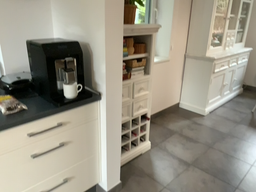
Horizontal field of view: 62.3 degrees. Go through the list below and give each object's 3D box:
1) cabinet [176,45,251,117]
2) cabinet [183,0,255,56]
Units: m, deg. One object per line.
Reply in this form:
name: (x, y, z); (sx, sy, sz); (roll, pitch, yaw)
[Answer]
cabinet: (1.580, -0.370, 3.810); (0.510, 0.910, 1.660); (20, 27, 39)
cabinet: (1.570, -1.320, 3.490); (0.390, 1.090, 1.660); (20, 27, 39)
